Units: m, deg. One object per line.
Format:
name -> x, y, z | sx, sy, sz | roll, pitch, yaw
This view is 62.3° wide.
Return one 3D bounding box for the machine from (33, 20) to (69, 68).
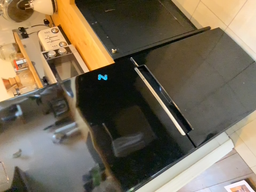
machine -> -0.620, -0.420, 1.730 | 0.250, 0.170, 0.250 | 56, 152, 21
